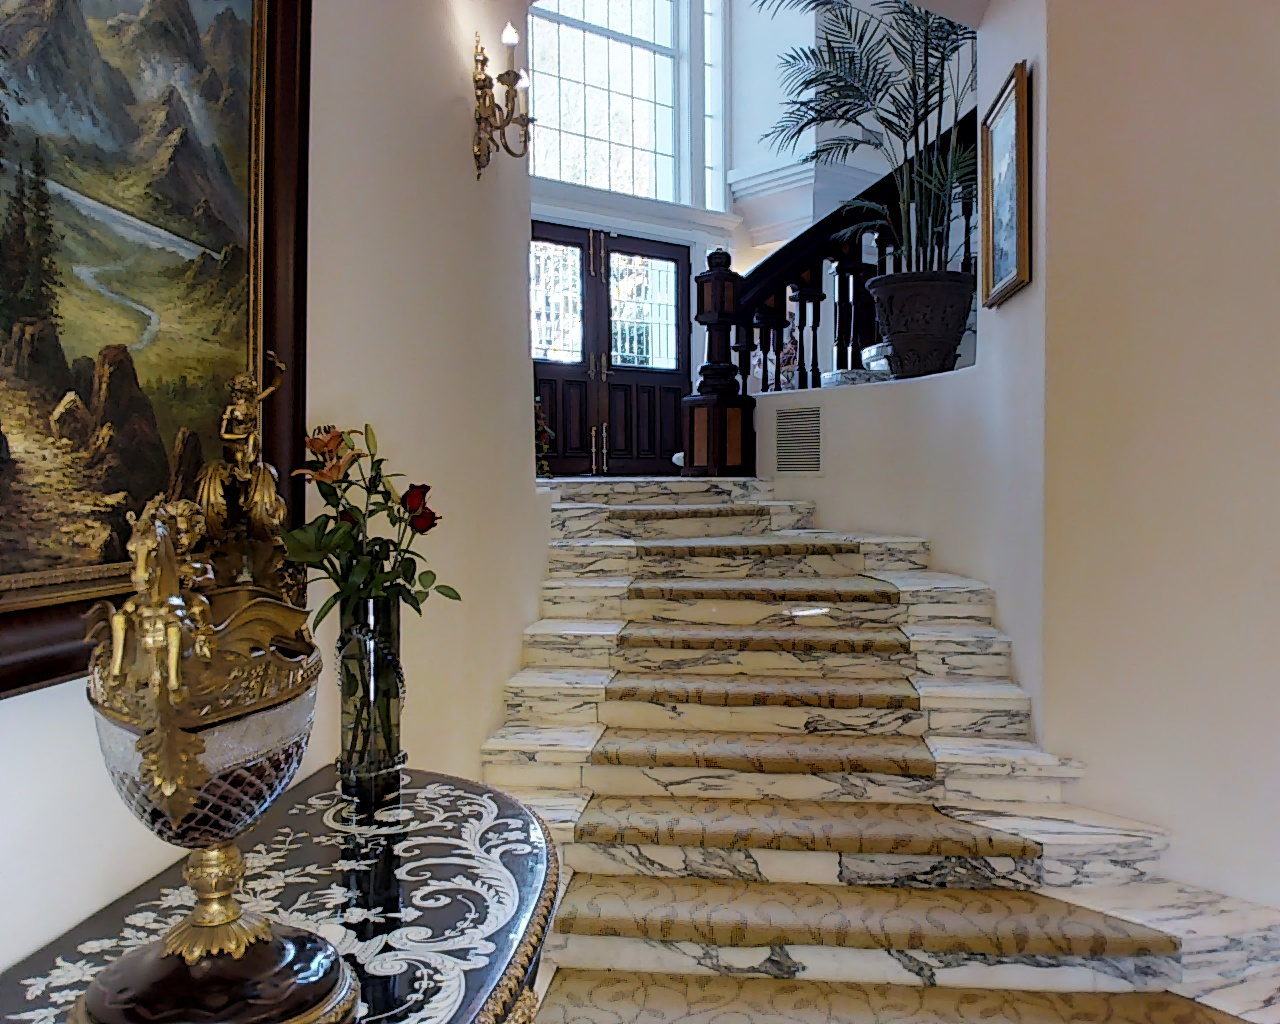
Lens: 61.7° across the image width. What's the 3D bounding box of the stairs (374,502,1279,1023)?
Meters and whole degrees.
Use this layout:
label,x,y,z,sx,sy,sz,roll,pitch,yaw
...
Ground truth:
label,x,y,z,sx,sy,sz,roll,pitch,yaw
stairs,0.370,0.670,3.970,2.530,1.320,3.730,-1,2,-15
